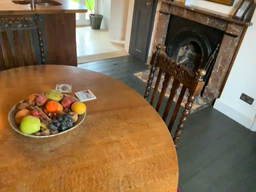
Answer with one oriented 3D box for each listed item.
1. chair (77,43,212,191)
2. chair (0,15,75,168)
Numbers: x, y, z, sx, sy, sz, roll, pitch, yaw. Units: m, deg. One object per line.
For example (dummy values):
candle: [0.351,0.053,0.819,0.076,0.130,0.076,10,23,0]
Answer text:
chair: [0.000,0.270,1.270,0.490,1.040,0.430,-10,36,-26]
chair: [-0.730,-0.040,1.640,0.430,1.000,0.490,-19,41,-36]
